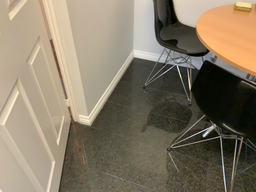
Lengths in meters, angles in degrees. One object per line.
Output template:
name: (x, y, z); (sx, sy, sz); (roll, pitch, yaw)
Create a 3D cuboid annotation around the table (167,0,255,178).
table: (0.880, -0.080, 1.460); (1.020, 0.750, 0.970); (10, 43, 10)
